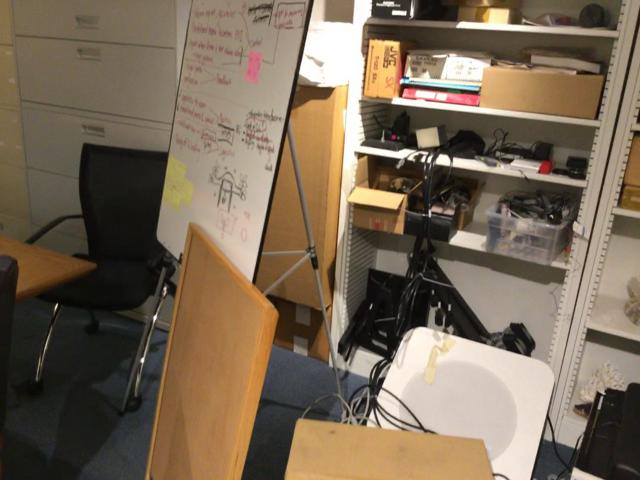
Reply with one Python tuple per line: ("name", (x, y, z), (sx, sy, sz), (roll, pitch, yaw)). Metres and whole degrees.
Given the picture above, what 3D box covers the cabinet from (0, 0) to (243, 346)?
("cabinet", (-1.520, -0.570, 3.130), (2.310, 1.640, 0.450), (13, 19, 26))
